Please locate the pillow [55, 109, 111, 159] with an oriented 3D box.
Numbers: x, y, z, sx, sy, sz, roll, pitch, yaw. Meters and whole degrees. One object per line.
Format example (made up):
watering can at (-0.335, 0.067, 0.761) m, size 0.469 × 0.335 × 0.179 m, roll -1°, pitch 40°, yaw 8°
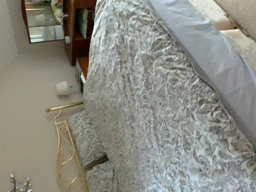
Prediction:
pillow at (-0.590, 0.480, 2.760) m, size 0.650 × 0.330 × 0.100 m, roll 35°, pitch 142°, yaw 12°
